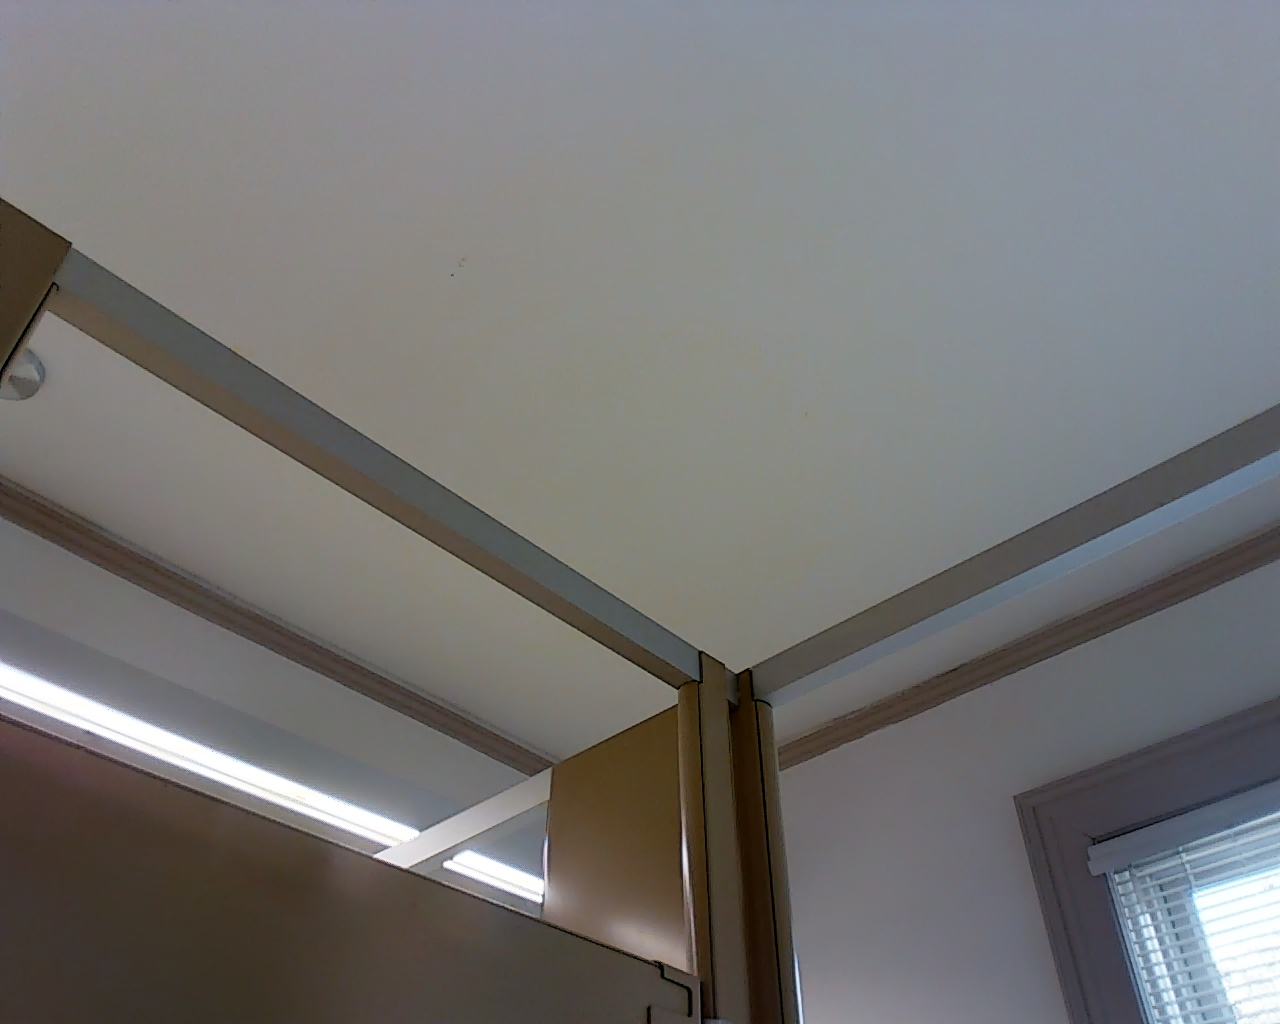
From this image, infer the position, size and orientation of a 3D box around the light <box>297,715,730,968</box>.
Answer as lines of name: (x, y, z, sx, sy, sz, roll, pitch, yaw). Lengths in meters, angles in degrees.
light: (-0.180, 0.630, 1.970, 0.110, 0.130, 0.940, -32, -51, 31)
